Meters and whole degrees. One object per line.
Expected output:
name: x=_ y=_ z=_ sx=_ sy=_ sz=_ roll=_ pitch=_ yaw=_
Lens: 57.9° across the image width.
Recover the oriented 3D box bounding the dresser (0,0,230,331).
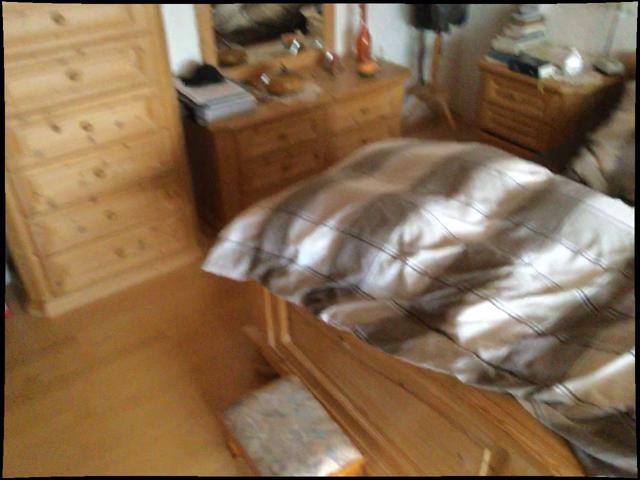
dresser: x=-0.929 y=-0.501 z=2.160 sx=0.820 sy=1.421 sz=0.540 roll=-23 pitch=40 yaw=-25

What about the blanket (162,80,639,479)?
blanket: x=0.390 y=0.100 z=1.380 sx=0.969 sy=0.320 sz=1.510 roll=-23 pitch=40 yaw=-25

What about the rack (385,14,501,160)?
rack: x=0.669 y=-0.871 z=3.260 sx=0.410 sy=0.620 sz=0.440 roll=-23 pitch=40 yaw=-25

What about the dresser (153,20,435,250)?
dresser: x=-0.080 y=-0.561 z=2.830 sx=1.209 sy=0.670 sz=0.490 roll=-24 pitch=40 yaw=-25
